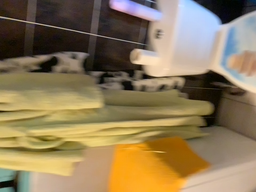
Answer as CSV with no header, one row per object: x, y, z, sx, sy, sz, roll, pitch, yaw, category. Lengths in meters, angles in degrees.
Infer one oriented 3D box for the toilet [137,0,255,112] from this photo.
0.550,-0.220,1.010,0.650,0.720,0.400,28,112,54,toilet

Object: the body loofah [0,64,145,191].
-0.400,0.100,0.720,0.240,0.910,0.400,18,103,56,body loofah
